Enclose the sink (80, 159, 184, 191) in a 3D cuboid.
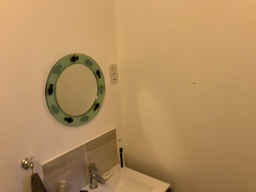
[{"bbox_3d":[-0.030,0.670,1.330,0.470,0.120,0.700,8,18,40],"label":"sink"}]
